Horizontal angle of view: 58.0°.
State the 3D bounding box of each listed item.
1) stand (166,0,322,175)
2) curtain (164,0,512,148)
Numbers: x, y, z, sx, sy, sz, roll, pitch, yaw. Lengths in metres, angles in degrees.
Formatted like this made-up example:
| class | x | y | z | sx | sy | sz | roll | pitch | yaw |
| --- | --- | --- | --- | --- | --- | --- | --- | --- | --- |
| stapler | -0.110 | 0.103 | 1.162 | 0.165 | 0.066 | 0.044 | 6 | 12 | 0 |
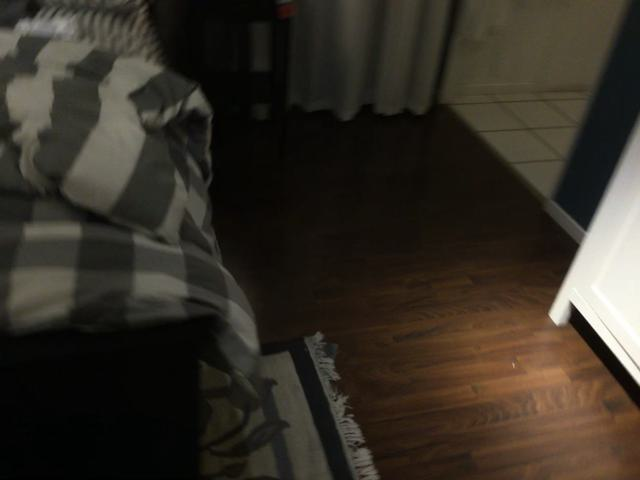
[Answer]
| class | x | y | z | sx | sy | sz | roll | pitch | yaw |
| --- | --- | --- | --- | --- | --- | --- | --- | --- | --- |
| stand | -0.330 | -0.760 | 2.350 | 0.490 | 0.760 | 0.550 | -9 | 39 | -17 |
| curtain | 0.130 | -1.470 | 2.140 | 1.450 | 2.180 | 0.380 | -9 | 39 | -17 |
